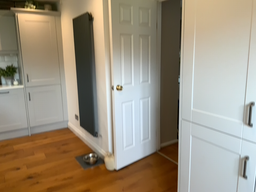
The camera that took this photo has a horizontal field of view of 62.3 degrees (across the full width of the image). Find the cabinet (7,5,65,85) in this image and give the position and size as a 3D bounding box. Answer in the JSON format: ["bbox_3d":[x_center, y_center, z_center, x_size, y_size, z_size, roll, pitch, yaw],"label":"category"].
[{"bbox_3d":[-1.680,-0.900,3.890,0.780,1.250,0.630,-8,14,-32],"label":"cabinet"}]
